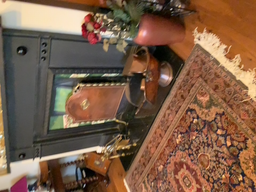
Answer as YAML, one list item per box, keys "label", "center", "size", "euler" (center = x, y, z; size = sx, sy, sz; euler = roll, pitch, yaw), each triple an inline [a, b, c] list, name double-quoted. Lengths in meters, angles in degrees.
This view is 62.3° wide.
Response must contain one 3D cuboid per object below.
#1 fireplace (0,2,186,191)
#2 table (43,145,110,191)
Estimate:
- label: "fireplace"
  center: [-0.470, 0.160, 1.980]
  size: [0.670, 1.230, 1.610]
  euler: [58, 139, 38]
- label: "table"
  center: [-0.840, 1.380, 3.250]
  size: [0.560, 0.720, 1.120]
  euler: [57, 139, 39]
